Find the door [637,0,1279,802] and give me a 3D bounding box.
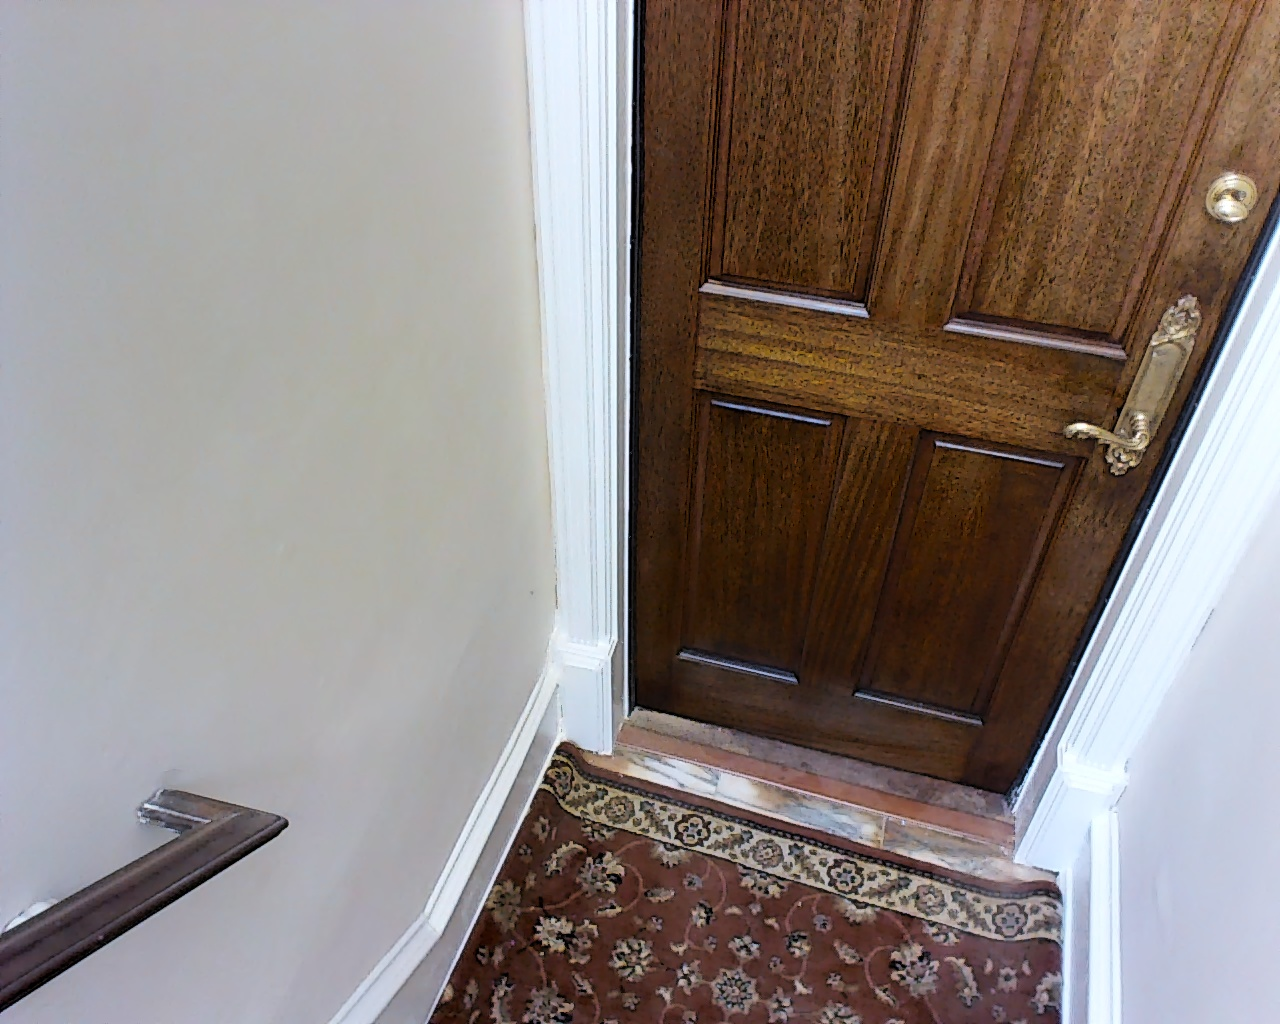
[{"bbox_3d":[0.350,-0.270,1.340,0.710,1.900,0.050,11,44,12],"label":"door"}]
